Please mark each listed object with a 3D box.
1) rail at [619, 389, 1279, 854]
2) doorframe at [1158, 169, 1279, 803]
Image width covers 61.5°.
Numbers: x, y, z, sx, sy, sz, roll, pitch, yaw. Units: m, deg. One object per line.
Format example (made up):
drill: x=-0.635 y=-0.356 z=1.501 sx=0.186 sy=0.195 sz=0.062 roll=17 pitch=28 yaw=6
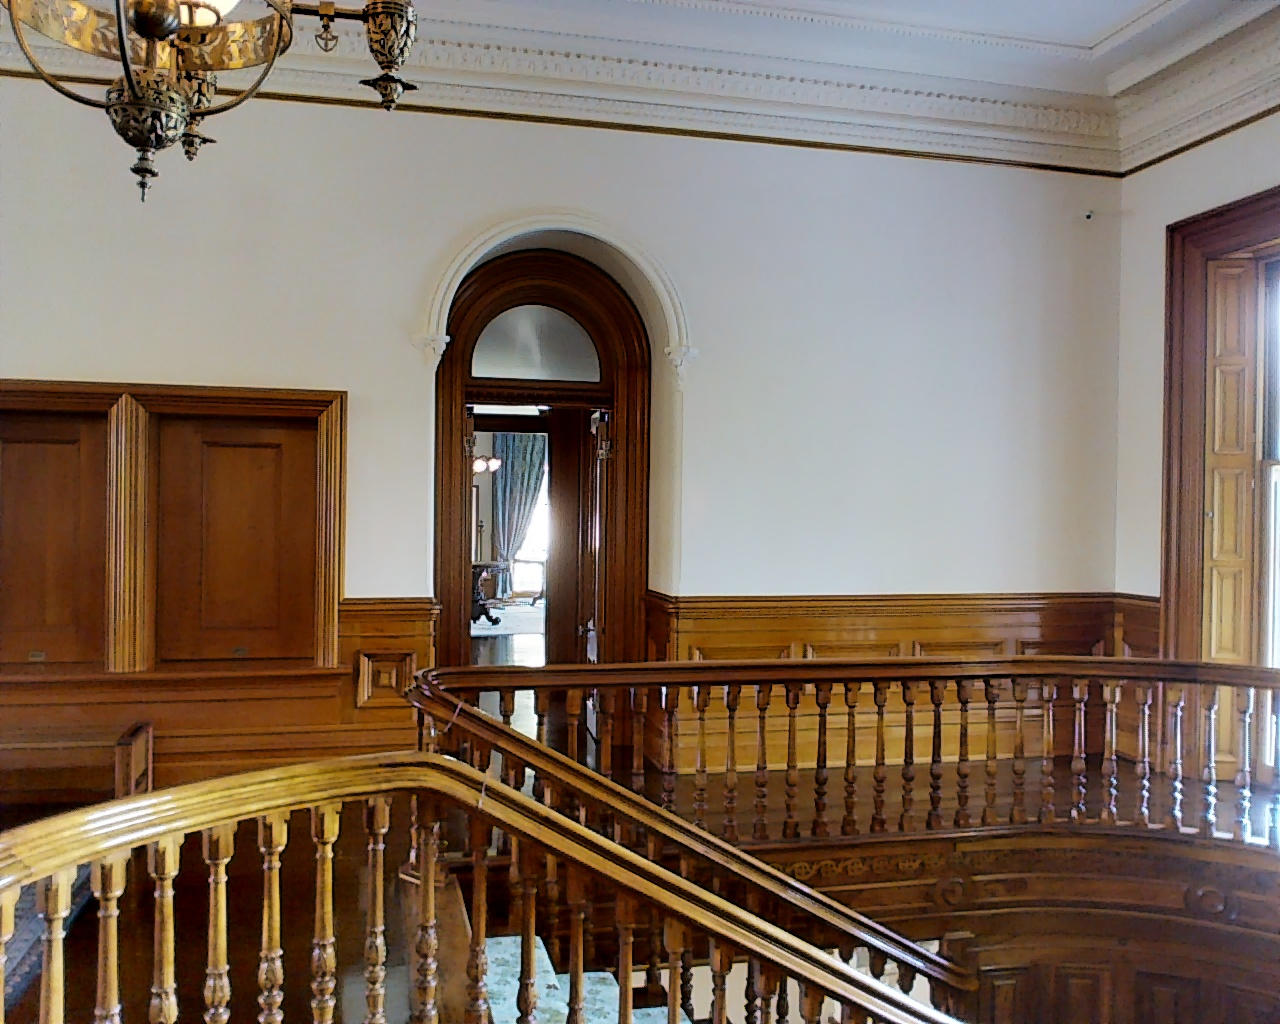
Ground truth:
rail: x=2.280 y=0.560 z=6.210 sx=4.789 sy=2.340 sz=0.490 roll=0 pitch=0 yaw=-14
doorframe: x=3.670 y=-0.140 z=5.730 sx=0.470 sy=3.390 sz=1.960 roll=0 pitch=0 yaw=-14
